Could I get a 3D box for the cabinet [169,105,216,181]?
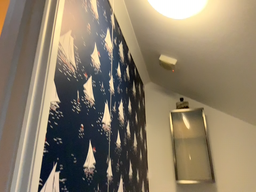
[{"bbox_3d":[0.600,0.440,2.040,0.350,0.700,0.040,-6,-23,13],"label":"cabinet"}]
